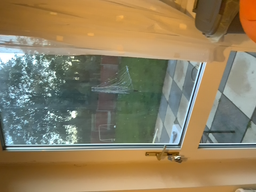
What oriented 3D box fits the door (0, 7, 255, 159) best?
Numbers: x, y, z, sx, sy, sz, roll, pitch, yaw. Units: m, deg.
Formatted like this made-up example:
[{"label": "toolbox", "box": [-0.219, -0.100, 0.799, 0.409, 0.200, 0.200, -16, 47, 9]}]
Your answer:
[{"label": "door", "box": [0.270, 0.020, 1.180, 0.050, 1.990, 0.800, -105, 19, -60]}]
